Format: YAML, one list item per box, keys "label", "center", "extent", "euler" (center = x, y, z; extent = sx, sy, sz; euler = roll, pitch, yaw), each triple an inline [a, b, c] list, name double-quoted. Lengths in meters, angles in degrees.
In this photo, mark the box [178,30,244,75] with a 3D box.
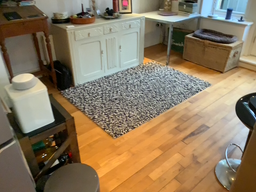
- label: "box"
  center: [1.400, -0.790, 3.680]
  extent: [0.520, 0.460, 0.850]
  euler: [-24, 39, -33]
